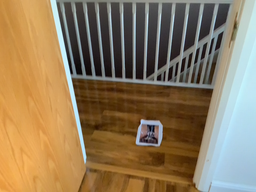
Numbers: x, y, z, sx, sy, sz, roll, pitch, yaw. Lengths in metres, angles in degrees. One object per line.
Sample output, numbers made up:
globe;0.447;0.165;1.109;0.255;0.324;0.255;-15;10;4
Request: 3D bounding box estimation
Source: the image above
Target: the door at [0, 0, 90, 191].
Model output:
door;-0.380;-0.060;0.640;0.060;1.990;0.780;4;34;8
